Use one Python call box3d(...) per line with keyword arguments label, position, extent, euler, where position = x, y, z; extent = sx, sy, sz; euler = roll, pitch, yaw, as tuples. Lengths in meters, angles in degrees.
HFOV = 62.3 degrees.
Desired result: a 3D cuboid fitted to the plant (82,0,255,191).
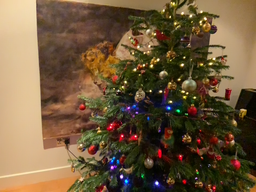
box3d(label="plant", position=(0.400, 0.280, 1.950), extent=(1.280, 2.000, 1.610), euler=(-3, 15, -24))
